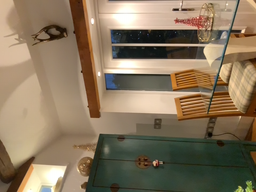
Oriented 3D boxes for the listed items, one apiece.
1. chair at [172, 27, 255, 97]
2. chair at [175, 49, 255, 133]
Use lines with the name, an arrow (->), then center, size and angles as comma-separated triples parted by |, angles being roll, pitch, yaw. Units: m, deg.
chair -> 1.060, -0.390, 2.400 | 0.500, 1.010, 0.600 | -82, -7, -54
chair -> 1.020, -0.050, 2.020 | 0.500, 1.010, 0.600 | -82, -7, -54
